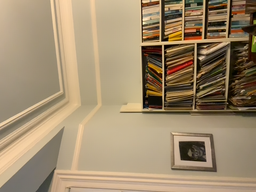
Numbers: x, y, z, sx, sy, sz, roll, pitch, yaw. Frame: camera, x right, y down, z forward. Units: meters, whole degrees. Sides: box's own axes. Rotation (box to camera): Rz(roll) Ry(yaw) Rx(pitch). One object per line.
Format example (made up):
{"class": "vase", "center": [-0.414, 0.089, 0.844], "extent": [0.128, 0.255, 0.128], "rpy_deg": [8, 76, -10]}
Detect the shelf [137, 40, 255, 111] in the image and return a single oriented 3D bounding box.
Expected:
{"class": "shelf", "center": [1.150, -0.260, 2.630], "extent": [0.430, 2.020, 0.800], "rpy_deg": [-65, -26, -74]}
